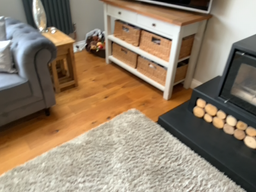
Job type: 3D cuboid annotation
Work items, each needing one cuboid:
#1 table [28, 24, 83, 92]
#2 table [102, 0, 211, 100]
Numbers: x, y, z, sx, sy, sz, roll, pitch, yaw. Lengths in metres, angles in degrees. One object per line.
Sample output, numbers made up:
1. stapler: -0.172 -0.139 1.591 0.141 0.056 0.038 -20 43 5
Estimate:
1. table: -0.820 -0.450 2.420 0.350 0.550 0.510 -23 44 -32
2. table: 0.220 -0.660 2.530 0.470 0.810 1.210 -23 43 -31
